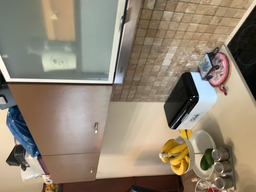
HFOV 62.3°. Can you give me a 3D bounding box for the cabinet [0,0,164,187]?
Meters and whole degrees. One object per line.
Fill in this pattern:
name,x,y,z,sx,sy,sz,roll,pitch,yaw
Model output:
cabinet,-0.230,-0.100,0.930,3.290,0.420,0.330,109,159,-55
